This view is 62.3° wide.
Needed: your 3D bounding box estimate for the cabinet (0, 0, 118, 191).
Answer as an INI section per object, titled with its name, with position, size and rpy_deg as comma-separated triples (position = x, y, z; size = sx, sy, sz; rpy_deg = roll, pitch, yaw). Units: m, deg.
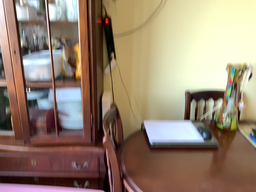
[cabinet]
position = -0.570, 0.050, 1.300
size = 0.980, 1.770, 0.430
rpy_deg = 1, 19, -3
